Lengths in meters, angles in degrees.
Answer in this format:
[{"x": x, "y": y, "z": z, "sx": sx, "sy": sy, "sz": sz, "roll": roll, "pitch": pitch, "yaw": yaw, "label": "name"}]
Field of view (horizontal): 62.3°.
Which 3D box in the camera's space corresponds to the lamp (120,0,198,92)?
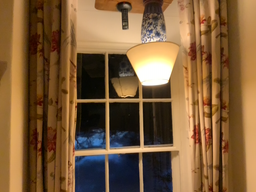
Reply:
[{"x": 0.180, "y": -0.360, "z": 1.580, "sx": 0.370, "sy": 0.610, "sz": 0.580, "roll": -1, "pitch": 176, "yaw": -13, "label": "lamp"}]
